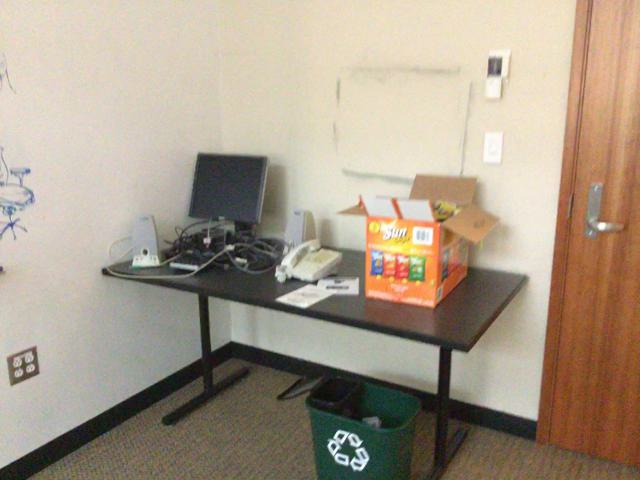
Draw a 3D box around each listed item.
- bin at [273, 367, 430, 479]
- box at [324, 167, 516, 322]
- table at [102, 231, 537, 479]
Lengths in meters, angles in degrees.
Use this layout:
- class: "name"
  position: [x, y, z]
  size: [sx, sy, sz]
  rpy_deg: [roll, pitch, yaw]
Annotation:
- class: "bin"
  position: [0.110, 0.730, 2.050]
  size: [0.470, 0.390, 0.280]
  rpy_deg: [7, 13, 28]
- class: "box"
  position: [0.380, -0.030, 2.070]
  size: [0.480, 0.400, 0.640]
  rpy_deg: [7, 13, 28]
- class: "table"
  position: [-0.020, 0.410, 2.330]
  size: [1.510, 0.630, 0.800]
  rpy_deg: [7, 13, 30]
